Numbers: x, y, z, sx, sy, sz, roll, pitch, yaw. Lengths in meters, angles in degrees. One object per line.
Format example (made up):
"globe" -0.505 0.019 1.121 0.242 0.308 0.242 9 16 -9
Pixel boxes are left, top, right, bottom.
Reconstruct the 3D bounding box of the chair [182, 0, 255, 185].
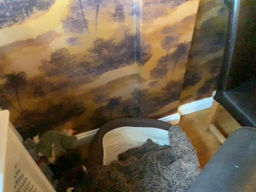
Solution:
"chair" 0.820 -0.040 1.370 0.480 1.080 0.660 -17 48 -14
